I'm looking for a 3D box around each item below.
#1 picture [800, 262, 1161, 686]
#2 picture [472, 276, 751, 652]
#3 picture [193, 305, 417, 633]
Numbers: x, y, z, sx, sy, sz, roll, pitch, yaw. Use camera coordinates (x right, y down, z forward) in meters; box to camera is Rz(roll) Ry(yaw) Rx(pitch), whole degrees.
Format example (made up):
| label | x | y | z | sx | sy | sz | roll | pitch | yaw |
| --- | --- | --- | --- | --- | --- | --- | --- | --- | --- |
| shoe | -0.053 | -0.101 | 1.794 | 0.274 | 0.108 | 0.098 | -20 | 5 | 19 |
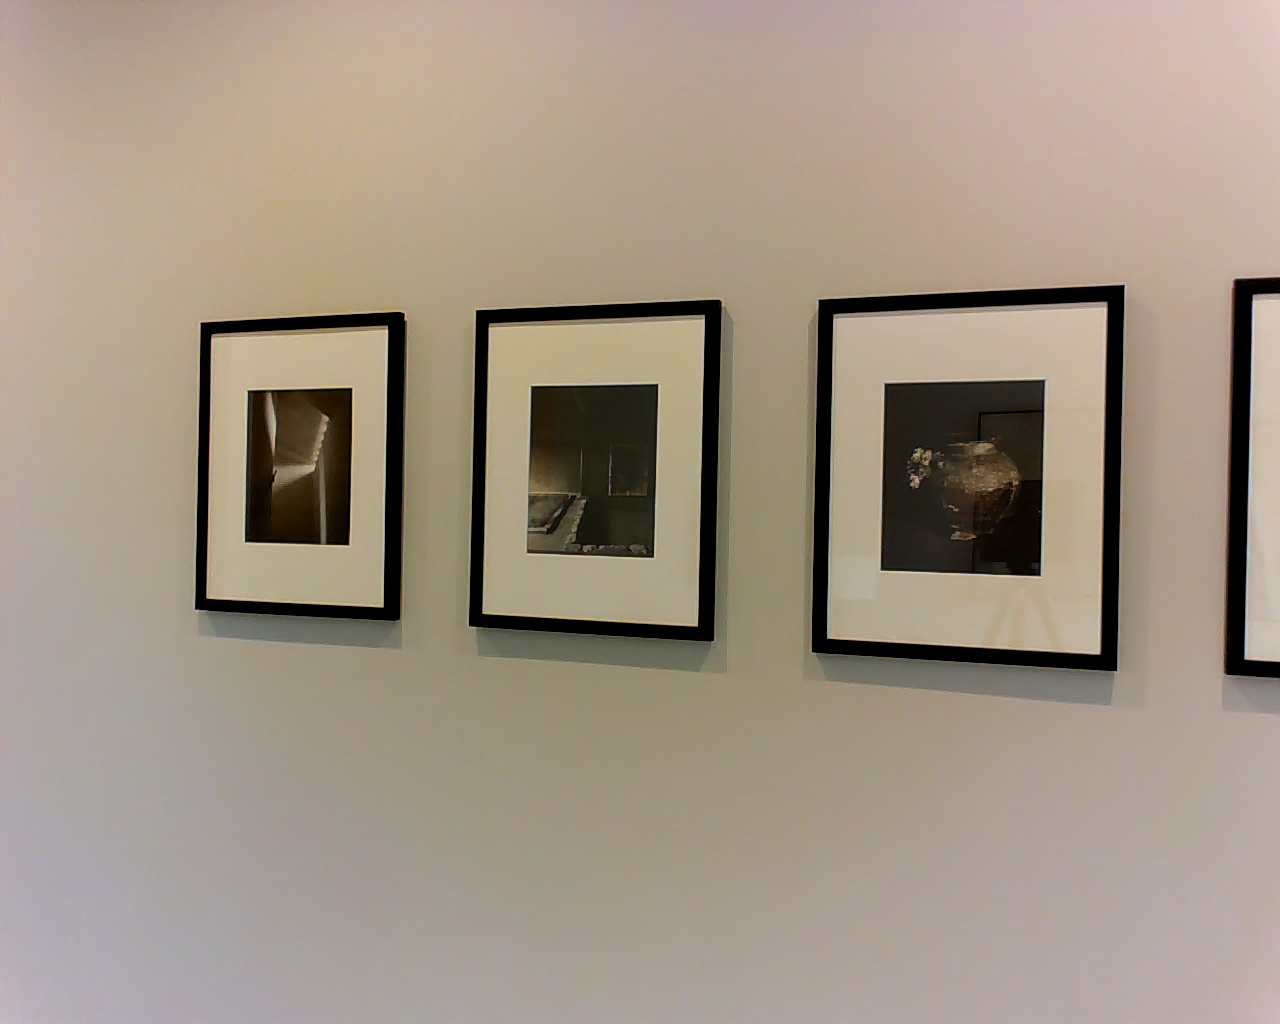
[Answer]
| label | x | y | z | sx | sy | sz | roll | pitch | yaw |
| --- | --- | --- | --- | --- | --- | --- | --- | --- | --- |
| picture | 0.440 | -0.050 | 1.430 | 0.450 | 0.530 | 0.020 | 1 | 0 | 19 |
| picture | -0.050 | -0.070 | 1.600 | 0.430 | 0.530 | 0.020 | 1 | 0 | 19 |
| picture | -0.560 | -0.070 | 1.780 | 0.420 | 0.520 | 0.020 | 1 | 0 | 19 |
